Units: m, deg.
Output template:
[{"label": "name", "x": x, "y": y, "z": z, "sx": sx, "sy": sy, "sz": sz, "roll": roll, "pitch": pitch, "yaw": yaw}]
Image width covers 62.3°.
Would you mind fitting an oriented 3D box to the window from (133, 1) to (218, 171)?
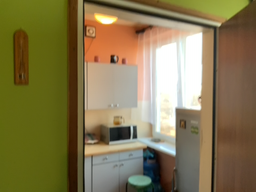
[{"label": "window", "x": 0.550, "y": -0.130, "z": 3.100, "sx": 0.150, "sy": 1.870, "sz": 1.650, "roll": -1, "pitch": 3, "yaw": -28}]
